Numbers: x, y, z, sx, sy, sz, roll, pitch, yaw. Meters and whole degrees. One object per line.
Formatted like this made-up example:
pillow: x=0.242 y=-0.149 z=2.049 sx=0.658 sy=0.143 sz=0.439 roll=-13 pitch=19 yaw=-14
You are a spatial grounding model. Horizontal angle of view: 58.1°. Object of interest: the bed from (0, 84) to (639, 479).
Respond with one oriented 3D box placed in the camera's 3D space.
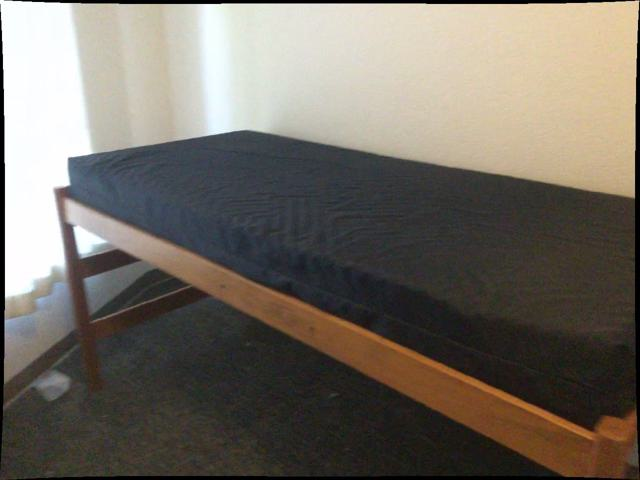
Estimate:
bed: x=0.020 y=0.270 z=2.100 sx=2.588 sy=1.262 sz=1.149 roll=19 pitch=33 yaw=39
